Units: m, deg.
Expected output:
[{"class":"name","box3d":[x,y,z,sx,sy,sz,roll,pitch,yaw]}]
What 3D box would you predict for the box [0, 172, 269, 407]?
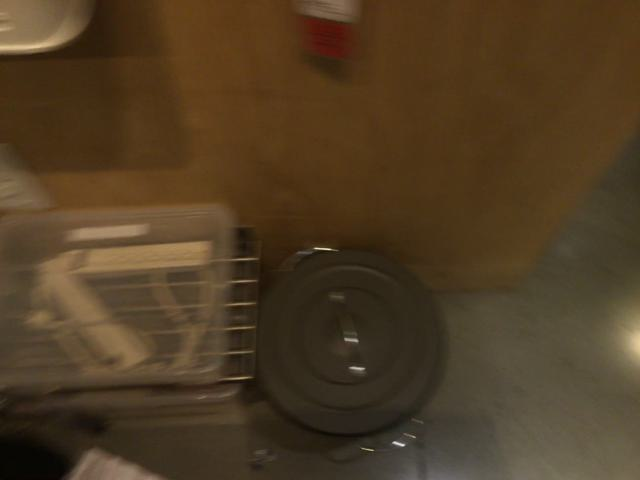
[{"class":"box","box3d":[-0.360,0.110,1.140,0.470,0.360,0.270,-4,-27,5]}]
